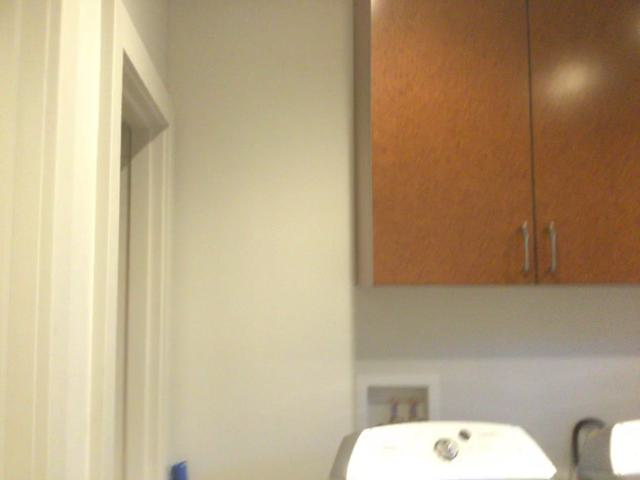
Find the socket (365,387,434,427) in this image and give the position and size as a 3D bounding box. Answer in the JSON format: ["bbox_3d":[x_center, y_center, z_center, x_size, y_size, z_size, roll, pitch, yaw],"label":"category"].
[{"bbox_3d":[0.270,0.570,1.980,0.210,0.110,0.120,-1,-7,-4],"label":"socket"}]
